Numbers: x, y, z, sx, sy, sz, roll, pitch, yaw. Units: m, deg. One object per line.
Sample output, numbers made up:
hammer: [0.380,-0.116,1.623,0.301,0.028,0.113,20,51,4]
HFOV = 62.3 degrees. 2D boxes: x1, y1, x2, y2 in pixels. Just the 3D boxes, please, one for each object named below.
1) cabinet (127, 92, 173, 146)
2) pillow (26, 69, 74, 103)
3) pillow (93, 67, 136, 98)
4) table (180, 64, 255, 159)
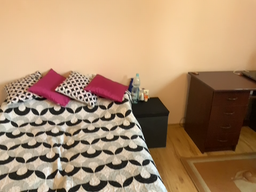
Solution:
cabinet: [0.220,0.240,2.360,0.390,0.440,0.400,-3,23,-11]
pillow: [-0.720,-0.110,2.030,0.370,0.200,0.370,-3,23,-11]
pillow: [-0.150,-0.150,2.110,0.350,0.150,0.430,-4,24,-14]
table: [1.380,0.100,2.360,1.310,0.740,0.710,-3,23,-11]
